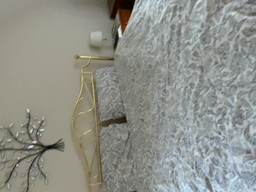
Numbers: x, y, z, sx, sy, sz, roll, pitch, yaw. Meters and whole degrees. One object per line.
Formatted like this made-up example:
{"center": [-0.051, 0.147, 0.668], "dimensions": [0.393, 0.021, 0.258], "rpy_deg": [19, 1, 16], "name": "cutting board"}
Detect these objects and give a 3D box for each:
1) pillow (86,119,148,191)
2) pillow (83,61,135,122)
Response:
{"center": [-0.130, 0.640, 2.290], "dimensions": [0.690, 0.360, 0.140], "rpy_deg": [58, 153, 15], "name": "pillow"}
{"center": [-0.240, -0.070, 2.580], "dimensions": [0.700, 0.320, 0.110], "rpy_deg": [59, 153, 13], "name": "pillow"}
